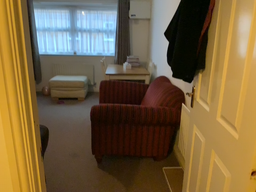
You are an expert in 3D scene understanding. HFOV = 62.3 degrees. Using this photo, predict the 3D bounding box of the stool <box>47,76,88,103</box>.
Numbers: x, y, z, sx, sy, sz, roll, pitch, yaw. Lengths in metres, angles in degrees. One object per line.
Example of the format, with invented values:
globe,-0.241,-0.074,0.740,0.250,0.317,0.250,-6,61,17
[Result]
stool,-1.330,-0.170,4.780,0.750,0.460,0.640,1,15,-3
